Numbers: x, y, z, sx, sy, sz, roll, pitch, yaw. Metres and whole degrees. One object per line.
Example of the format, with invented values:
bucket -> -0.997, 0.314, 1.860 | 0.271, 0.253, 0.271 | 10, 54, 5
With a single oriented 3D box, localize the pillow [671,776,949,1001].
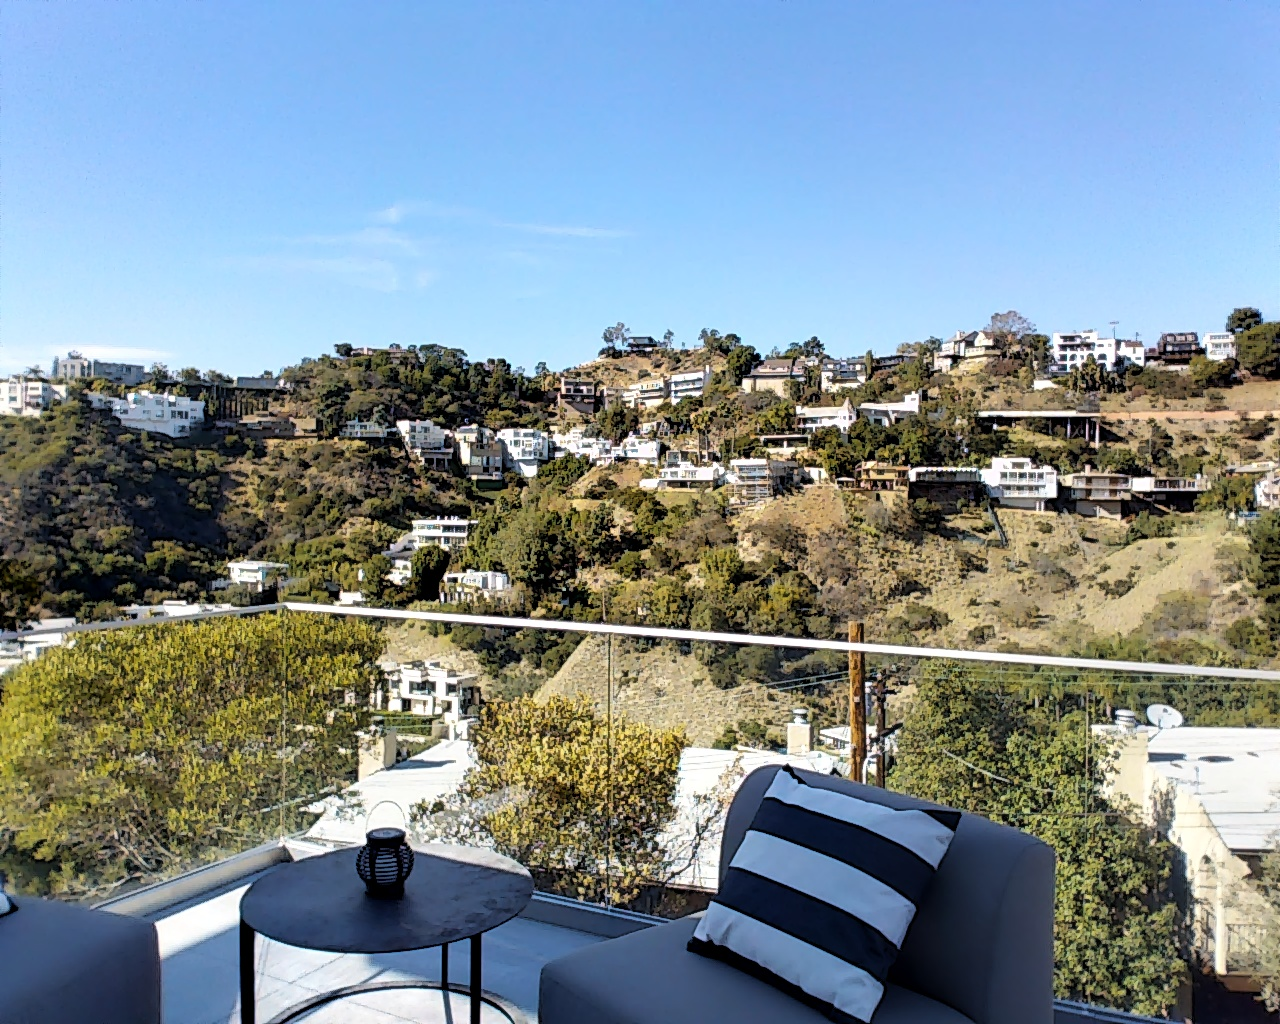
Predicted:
pillow -> 0.390, 0.870, 2.550 | 0.270, 0.400, 0.580 | 20, -18, -35
